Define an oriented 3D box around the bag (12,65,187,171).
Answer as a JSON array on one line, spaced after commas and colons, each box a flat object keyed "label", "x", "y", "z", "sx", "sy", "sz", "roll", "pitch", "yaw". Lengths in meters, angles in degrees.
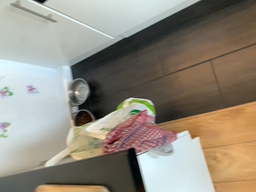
[{"label": "bag", "x": -0.030, "y": 0.090, "z": 0.950, "sx": 0.320, "sy": 0.780, "sz": 0.240, "roll": -19, "pitch": 79, "yaw": 29}]
